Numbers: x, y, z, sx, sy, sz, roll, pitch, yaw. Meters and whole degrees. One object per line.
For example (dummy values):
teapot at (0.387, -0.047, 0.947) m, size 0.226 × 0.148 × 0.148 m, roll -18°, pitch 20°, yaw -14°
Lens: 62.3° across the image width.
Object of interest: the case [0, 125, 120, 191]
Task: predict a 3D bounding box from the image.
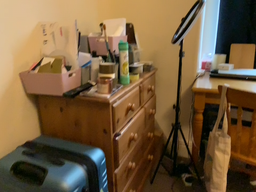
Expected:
case at (-0.320, 0.540, 1.050) m, size 0.460 × 0.640 × 0.350 m, roll 7°, pitch 19°, yaw 20°

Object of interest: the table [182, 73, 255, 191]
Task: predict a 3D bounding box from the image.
table at (1.130, 0.280, 1.760) m, size 1.190 × 0.740 × 0.690 m, roll 7°, pitch 19°, yaw 21°

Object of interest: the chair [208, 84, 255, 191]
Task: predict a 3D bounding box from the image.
chair at (0.800, 0.380, 1.370) m, size 0.450 × 0.780 × 0.460 m, roll 8°, pitch 20°, yaw 24°
